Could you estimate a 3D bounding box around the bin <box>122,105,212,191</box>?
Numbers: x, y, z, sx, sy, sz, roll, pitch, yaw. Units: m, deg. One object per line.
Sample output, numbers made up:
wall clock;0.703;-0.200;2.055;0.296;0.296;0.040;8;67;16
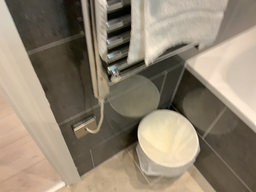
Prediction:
bin;0.170;0.280;1.060;0.290;0.260;0.280;-27;60;-22
